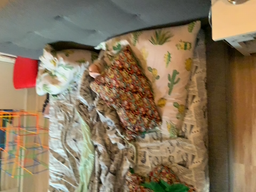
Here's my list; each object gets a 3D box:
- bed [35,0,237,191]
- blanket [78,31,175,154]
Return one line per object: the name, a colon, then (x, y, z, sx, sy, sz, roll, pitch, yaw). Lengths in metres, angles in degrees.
bed: (-0.130, 0.650, 1.600, 1.680, 0.280, 2.310, -2, 85, 39)
blanket: (-0.030, -0.010, 1.250, 0.580, 0.170, 0.580, -1, 86, 39)
